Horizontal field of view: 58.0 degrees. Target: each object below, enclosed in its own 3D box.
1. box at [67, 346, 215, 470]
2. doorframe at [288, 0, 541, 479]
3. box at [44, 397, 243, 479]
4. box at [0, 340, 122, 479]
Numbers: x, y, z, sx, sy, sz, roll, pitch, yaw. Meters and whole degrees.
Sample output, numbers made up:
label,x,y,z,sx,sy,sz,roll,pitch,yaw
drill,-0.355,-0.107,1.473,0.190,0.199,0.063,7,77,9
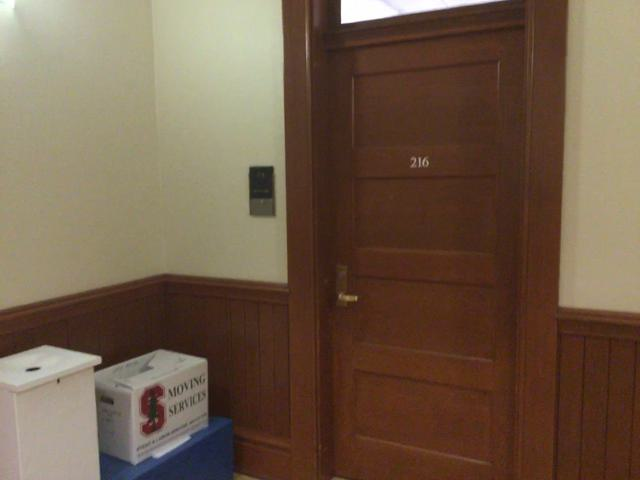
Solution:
label,x,y,z,sx,sy,sz,roll,pitch,yaw
box,-0.770,0.710,2.550,0.390,0.340,0.480,1,5,24
doorframe,0.380,0.090,2.420,0.970,2.150,0.290,1,5,24
box,-0.730,1.010,2.540,0.440,0.350,0.750,1,5,24
box,-1.020,0.830,2.100,0.400,0.820,0.390,1,5,24
